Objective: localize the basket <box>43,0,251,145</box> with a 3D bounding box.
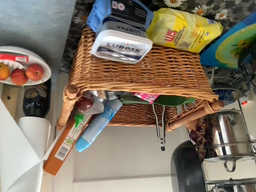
[{"bbox_3d":[0.000,0.000,0.830,0.580,0.270,0.550,4,156,-23],"label":"basket"}]
